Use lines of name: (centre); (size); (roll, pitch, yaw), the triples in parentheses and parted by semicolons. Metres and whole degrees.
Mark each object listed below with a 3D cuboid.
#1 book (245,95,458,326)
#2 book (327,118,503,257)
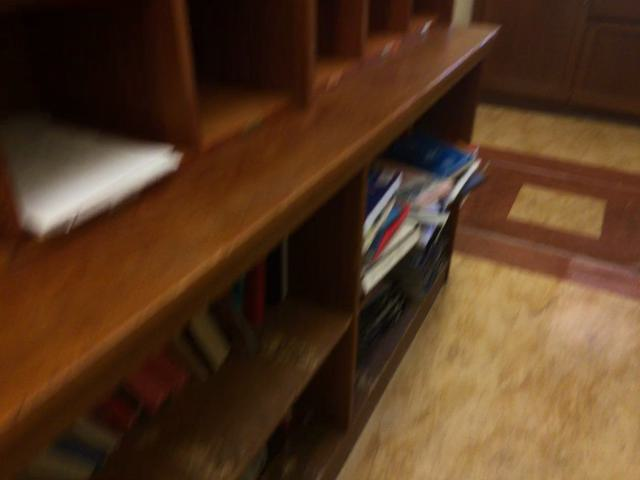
book: (0.090, -0.100, 1.330); (0.290, 0.310, 0.470); (15, 33, 23)
book: (0.290, -0.180, 1.660); (0.320, 0.140, 0.550); (15, 33, 23)
